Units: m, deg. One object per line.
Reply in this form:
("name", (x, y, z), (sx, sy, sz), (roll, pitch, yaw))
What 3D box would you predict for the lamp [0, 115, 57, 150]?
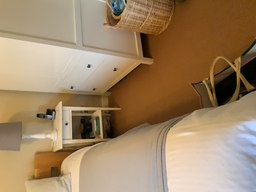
("lamp", (-0.970, 0.350, 2.020), (0.270, 0.510, 0.280), (-27, 64, 55))
